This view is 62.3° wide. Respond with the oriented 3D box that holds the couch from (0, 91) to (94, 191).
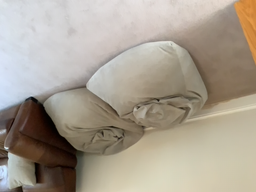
[{"bbox_3d":[-1.650,0.810,2.780,2.070,0.860,1.020,-15,140,27],"label":"couch"}]
